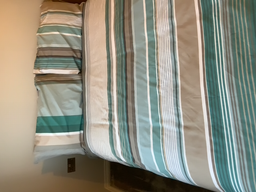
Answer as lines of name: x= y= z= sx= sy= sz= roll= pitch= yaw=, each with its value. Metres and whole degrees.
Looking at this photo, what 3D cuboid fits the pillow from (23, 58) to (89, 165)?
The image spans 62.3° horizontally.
pillow: x=-0.640 y=0.150 z=1.980 sx=0.320 sy=0.470 sz=0.860 roll=-5 pitch=81 yaw=28
